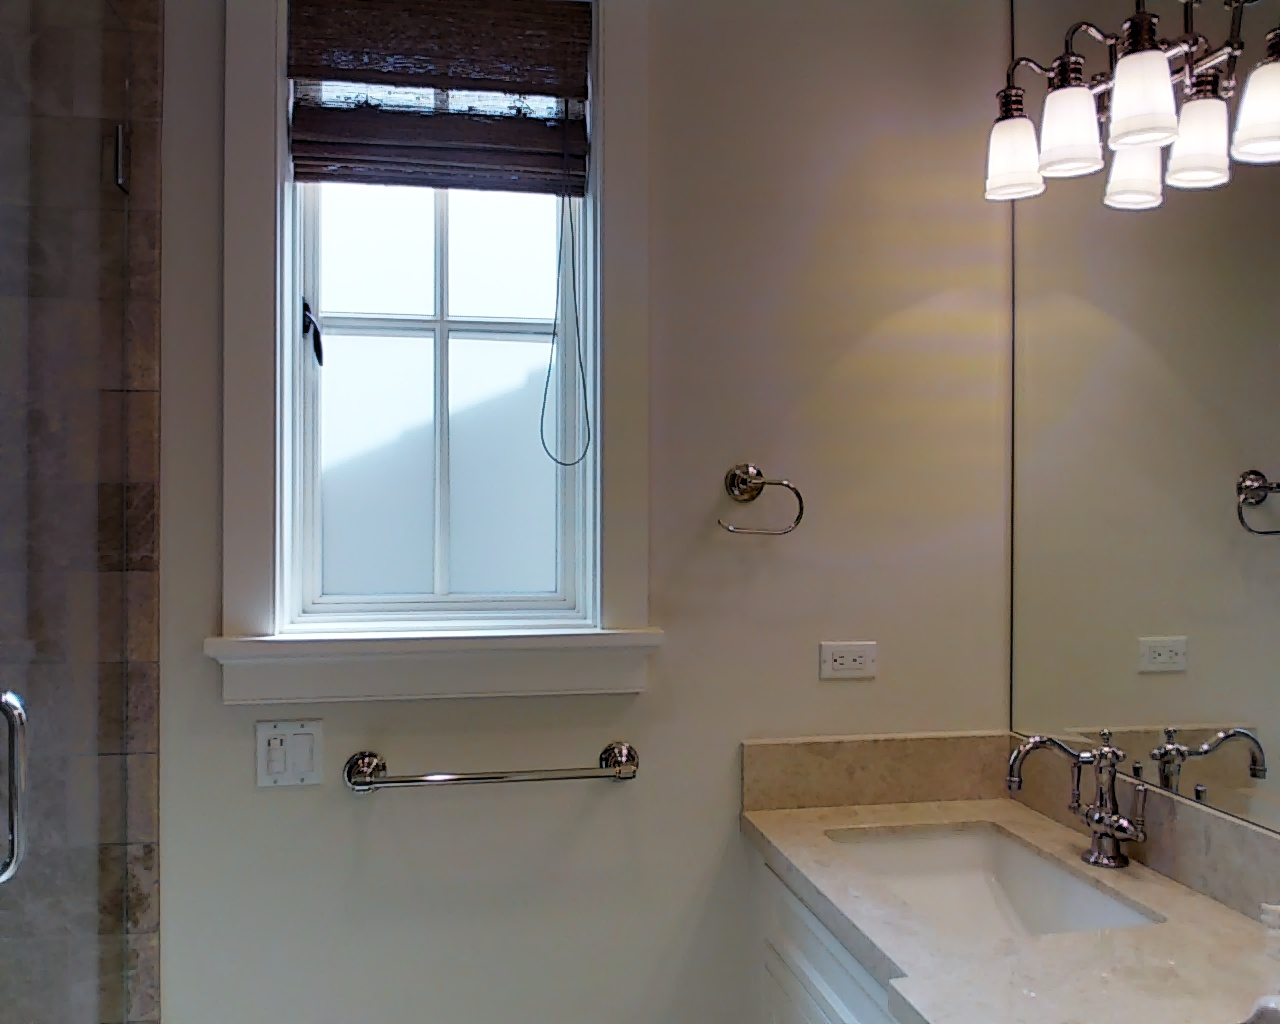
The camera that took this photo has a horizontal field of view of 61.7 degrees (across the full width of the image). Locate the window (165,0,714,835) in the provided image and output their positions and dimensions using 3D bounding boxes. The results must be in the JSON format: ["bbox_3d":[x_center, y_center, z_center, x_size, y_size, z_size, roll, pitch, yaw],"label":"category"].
[{"bbox_3d":[-0.350,-0.380,2.000,0.930,1.851,0.250,1,0,-10],"label":"window"}]
